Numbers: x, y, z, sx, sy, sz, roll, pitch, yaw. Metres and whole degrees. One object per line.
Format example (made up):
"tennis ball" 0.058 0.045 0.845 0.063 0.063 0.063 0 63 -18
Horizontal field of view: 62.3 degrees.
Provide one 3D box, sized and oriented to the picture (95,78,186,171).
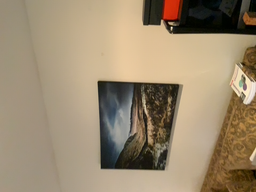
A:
"picture" 0.090 0.360 2.240 0.050 0.830 1.140 -87 0 -60
